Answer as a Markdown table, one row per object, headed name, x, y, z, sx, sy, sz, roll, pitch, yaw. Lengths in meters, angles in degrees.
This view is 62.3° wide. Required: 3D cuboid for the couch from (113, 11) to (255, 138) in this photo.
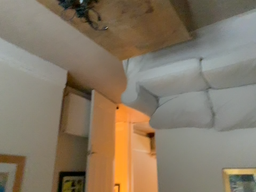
| name | x | y | z | sx | sy | sz | roll | pitch | yaw |
| --- | --- | --- | --- | --- | --- | --- | --- | --- | --- |
| couch | 0.700 | -0.070 | 2.310 | 1.440 | 0.830 | 0.920 | -11 | 158 | 27 |
